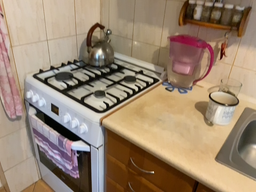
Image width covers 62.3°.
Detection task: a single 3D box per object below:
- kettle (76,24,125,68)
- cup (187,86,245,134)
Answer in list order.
[{"bbox_3d":[-0.180,-0.340,1.400,0.220,0.200,0.220,26,36,33],"label":"kettle"},{"bbox_3d":[0.370,0.050,0.890,0.150,0.080,0.190,26,36,33],"label":"cup"}]
